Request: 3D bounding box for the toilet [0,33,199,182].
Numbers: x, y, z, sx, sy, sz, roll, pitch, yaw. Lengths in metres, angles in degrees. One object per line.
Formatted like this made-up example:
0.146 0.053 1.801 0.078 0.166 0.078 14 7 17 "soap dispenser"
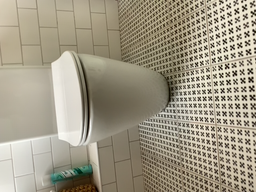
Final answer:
-0.240 0.010 0.920 0.610 0.810 0.380 177 87 -65 "toilet"
